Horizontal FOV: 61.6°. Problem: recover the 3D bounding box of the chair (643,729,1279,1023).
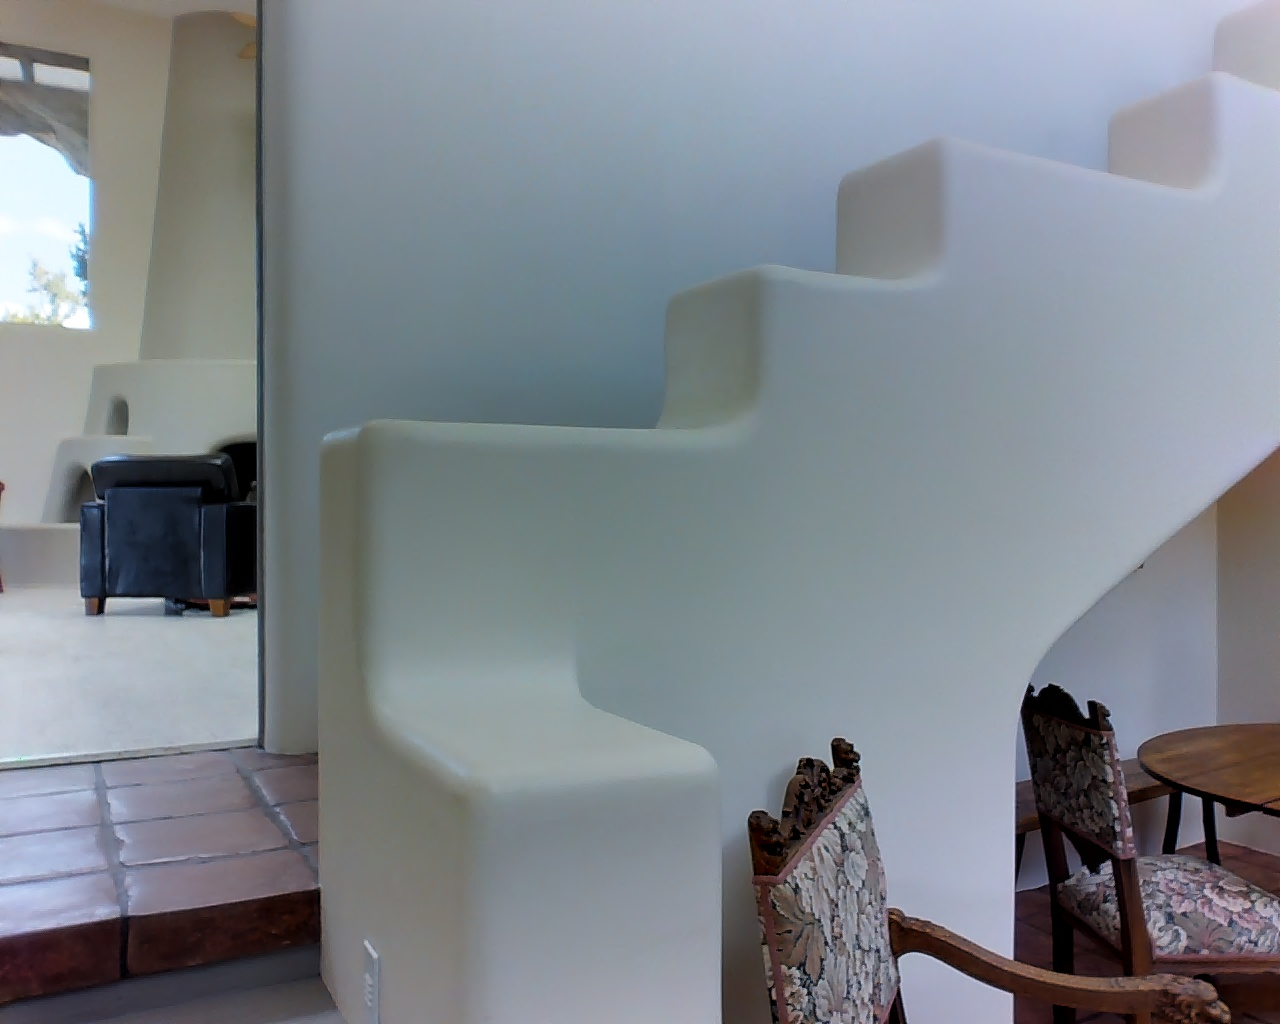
[{"bbox_3d":[0.490,0.910,1.530,0.770,1.000,0.730,1,0,21],"label":"chair"}]
